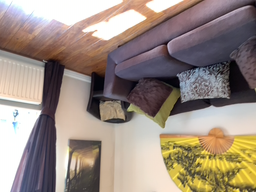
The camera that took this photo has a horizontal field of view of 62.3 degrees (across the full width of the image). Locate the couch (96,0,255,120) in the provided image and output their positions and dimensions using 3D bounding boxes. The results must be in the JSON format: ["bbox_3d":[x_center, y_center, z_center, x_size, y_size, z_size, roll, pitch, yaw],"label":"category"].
[{"bbox_3d":[0.660,-0.310,2.270,0.980,0.800,2.040,14,159,-40],"label":"couch"}]

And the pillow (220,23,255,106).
[{"bbox_3d":[1.160,-0.230,1.780,0.510,0.510,0.560,0,164,3],"label":"pillow"}]

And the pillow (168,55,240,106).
[{"bbox_3d":[0.790,-0.130,2.280,0.320,0.340,0.630,14,159,-40],"label":"pillow"}]

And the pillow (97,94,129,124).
[{"bbox_3d":[-0.240,0.210,3.500,0.430,0.370,0.140,17,-177,6],"label":"pillow"}]

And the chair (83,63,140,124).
[{"bbox_3d":[-0.260,0.000,3.450,0.660,0.770,0.600,14,159,-40],"label":"chair"}]

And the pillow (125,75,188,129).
[{"bbox_3d":[0.350,0.110,2.670,0.580,0.510,0.490,12,161,-34],"label":"pillow"}]
